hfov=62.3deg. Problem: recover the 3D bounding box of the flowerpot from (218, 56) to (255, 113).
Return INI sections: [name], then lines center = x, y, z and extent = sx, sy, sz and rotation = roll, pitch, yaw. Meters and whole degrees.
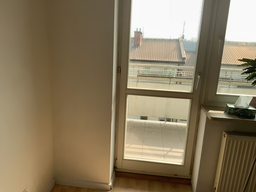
[flowerpot]
center = 1.280, -0.120, 2.010
extent = 0.610, 0.460, 0.470
rotation = 4, 14, 3
